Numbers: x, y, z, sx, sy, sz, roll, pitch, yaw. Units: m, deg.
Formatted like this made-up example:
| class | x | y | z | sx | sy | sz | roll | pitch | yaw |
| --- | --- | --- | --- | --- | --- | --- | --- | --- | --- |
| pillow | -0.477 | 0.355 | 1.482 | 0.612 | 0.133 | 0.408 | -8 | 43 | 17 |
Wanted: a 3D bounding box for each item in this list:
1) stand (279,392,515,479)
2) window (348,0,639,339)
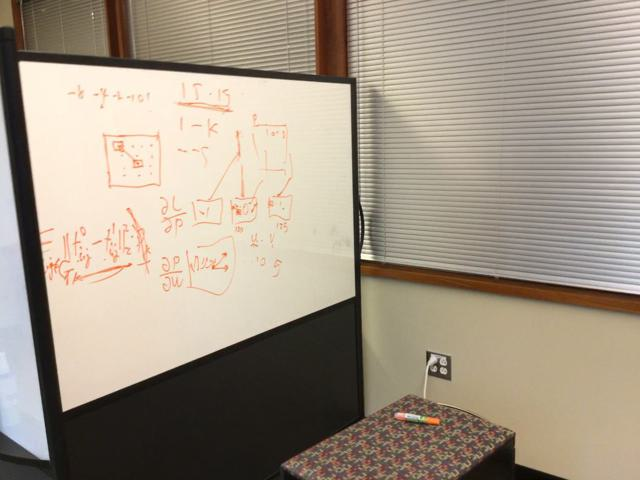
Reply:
| class | x | y | z | sx | sy | sz | roll | pitch | yaw |
| --- | --- | --- | --- | --- | --- | --- | --- | --- | --- |
| stand | 0.220 | 0.570 | 1.600 | 0.550 | 0.040 | 0.370 | -8 | 10 | -38 |
| window | 0.680 | -0.570 | 2.070 | 1.310 | 1.680 | 0.210 | 5 | 11 | 43 |
